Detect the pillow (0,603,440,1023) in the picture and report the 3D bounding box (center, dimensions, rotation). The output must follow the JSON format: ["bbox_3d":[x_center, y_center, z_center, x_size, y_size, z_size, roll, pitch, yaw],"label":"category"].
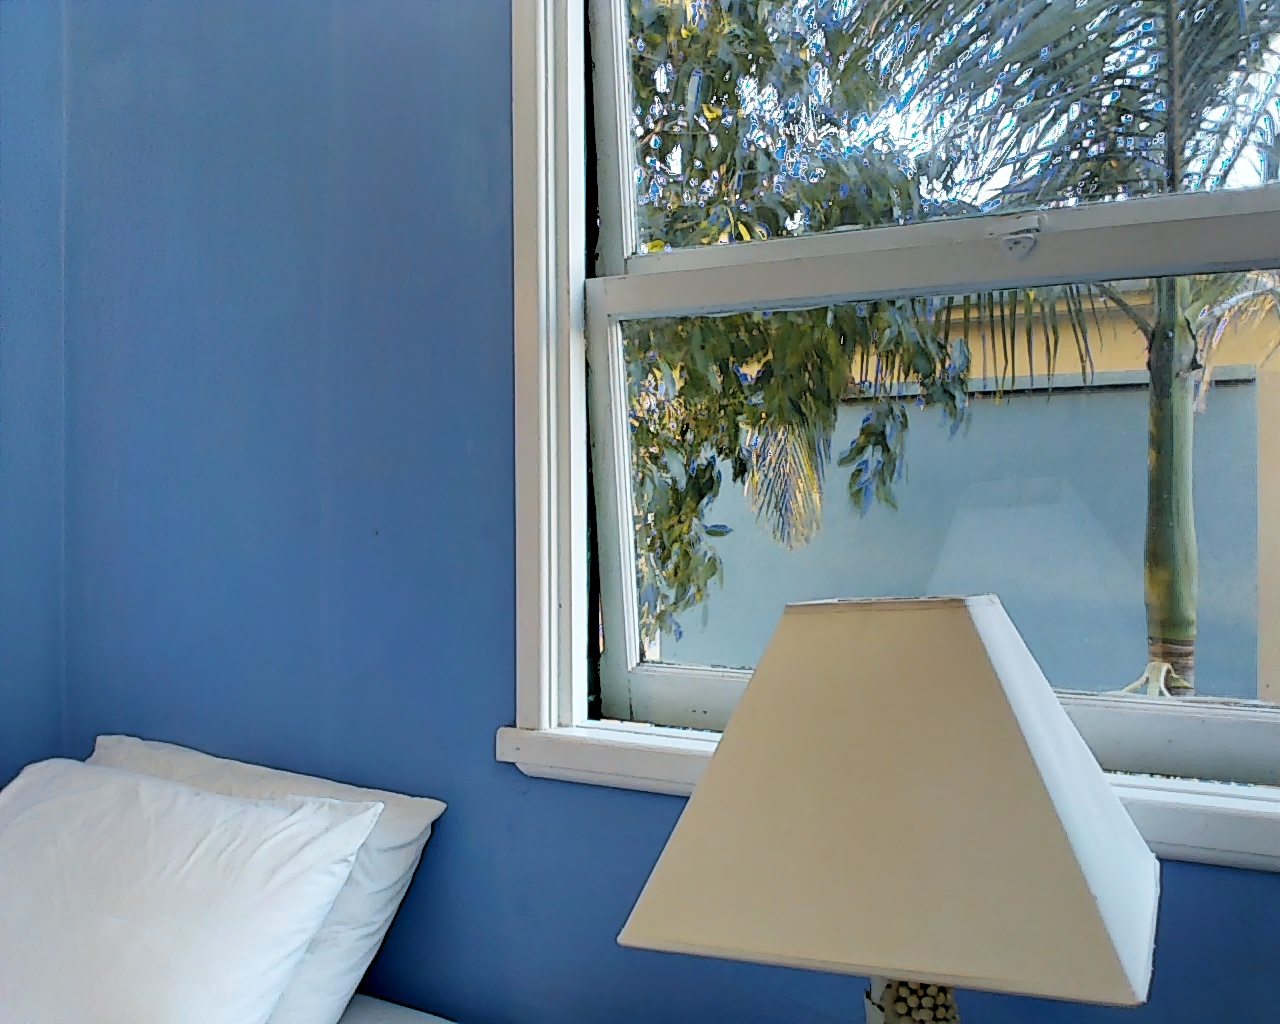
[{"bbox_3d":[-0.710,0.510,1.440,0.220,0.800,0.490,-48,-19,18],"label":"pillow"}]
